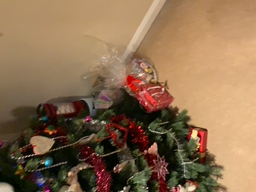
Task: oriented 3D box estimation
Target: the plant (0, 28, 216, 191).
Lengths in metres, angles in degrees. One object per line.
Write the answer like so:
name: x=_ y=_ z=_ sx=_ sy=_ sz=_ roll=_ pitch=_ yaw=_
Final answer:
plant: x=-0.470 y=0.460 z=0.970 sx=1.100 sy=1.690 sz=1.160 roll=-3 pitch=90 yaw=42
